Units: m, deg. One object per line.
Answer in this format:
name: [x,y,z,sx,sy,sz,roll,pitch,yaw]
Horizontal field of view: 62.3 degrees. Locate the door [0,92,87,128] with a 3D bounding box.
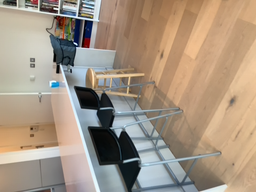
door: [-1.910,0.290,4.560,0.050,1.950,0.890,60,142,44]
